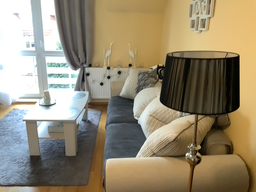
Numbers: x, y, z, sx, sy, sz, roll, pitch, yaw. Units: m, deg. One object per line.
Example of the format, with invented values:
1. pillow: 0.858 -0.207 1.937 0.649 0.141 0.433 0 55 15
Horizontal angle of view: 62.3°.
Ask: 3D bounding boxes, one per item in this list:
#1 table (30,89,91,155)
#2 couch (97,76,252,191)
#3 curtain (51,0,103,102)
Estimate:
1. table: -0.850 0.300 2.930 0.530 0.520 1.010 1 18 -3
2. couch: 0.230 0.370 2.540 0.970 0.710 2.360 1 18 -3
3. curtain: -0.870 -1.050 3.770 0.810 2.330 0.270 1 18 -4
